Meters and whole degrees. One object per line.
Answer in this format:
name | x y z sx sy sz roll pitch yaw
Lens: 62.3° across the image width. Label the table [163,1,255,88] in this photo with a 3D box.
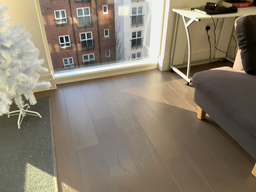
table | 1.040 -0.640 2.510 1.060 0.760 0.520 -11 35 -16
